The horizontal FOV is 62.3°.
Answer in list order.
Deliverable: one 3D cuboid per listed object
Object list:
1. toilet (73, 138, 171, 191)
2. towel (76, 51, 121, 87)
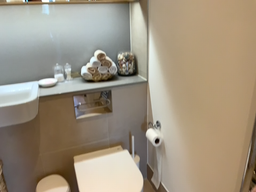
[{"bbox_3d":[-0.070,0.630,1.340,0.450,0.430,0.520,-8,23,-16],"label":"toilet"},{"bbox_3d":[-0.210,-0.200,1.510,0.270,0.190,0.190,-10,23,-20],"label":"towel"}]
